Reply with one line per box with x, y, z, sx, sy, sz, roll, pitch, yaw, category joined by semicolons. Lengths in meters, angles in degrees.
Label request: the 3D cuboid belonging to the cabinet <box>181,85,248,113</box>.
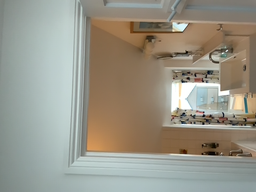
1.300;0.040;3.230;0.200;0.930;0.390;-70;-19;-88;cabinet

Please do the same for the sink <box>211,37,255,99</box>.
1.000;-0.220;2.000;0.660;0.170;0.450;83;-171;-86;sink
